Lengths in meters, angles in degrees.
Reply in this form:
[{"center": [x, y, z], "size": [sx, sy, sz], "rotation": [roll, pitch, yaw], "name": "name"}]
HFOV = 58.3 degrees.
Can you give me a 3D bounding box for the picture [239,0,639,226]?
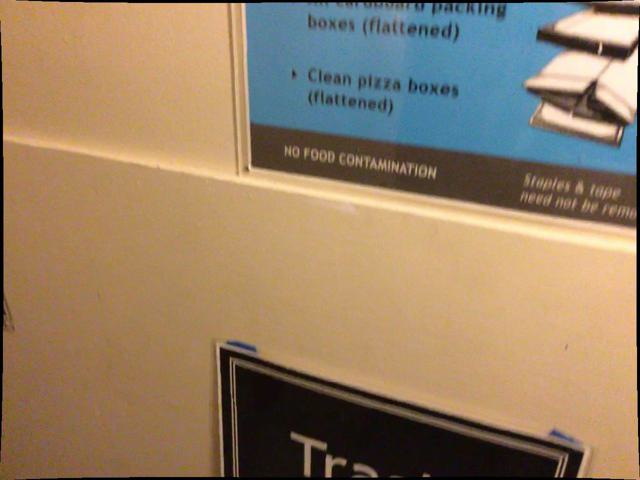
[{"center": [0.130, -0.170, 0.500], "size": [0.440, 0.280, 0.020], "rotation": [11, 30, 19], "name": "picture"}]
